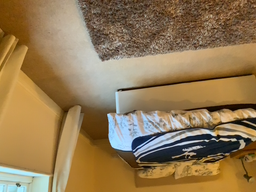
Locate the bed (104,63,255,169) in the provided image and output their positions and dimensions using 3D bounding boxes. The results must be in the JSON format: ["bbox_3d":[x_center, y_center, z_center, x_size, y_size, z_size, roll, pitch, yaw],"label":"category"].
[{"bbox_3d":[0.630,0.470,2.760,1.470,2.060,0.590,-7,-115,3],"label":"bed"}]

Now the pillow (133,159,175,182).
[{"bbox_3d":[0.390,1.160,3.280,0.600,0.430,0.150,-4,-130,3],"label":"pillow"}]
